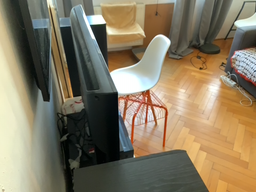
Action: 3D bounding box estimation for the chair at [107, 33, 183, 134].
[{"bbox_3d":[0.120,-0.120,2.070,0.540,0.800,0.450,-9,38,-14],"label":"chair"}]
